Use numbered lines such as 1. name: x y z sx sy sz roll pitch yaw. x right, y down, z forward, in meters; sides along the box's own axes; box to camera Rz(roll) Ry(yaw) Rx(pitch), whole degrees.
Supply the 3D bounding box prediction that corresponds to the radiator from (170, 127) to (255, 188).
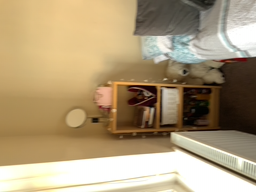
1. radiator: 0.830 0.330 1.100 1.110 0.690 0.130 -174 86 -67
